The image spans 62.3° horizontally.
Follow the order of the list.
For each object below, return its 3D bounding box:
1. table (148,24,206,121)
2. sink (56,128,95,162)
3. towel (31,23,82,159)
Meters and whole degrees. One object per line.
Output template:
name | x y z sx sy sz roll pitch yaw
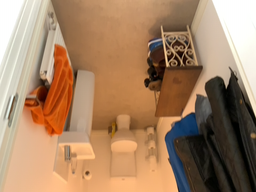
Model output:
table | 0.370 -0.160 1.870 0.260 0.470 0.790 -1 150 -3
sink | -0.430 0.440 1.840 0.240 0.150 0.470 -1 150 -3
towel | -0.440 0.010 1.470 0.110 0.670 0.710 0 150 -5
